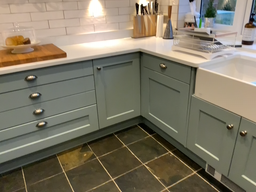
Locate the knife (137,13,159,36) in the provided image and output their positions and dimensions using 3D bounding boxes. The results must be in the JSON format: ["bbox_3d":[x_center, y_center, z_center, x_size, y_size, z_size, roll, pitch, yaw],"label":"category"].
[{"bbox_3d":[0.240,-0.860,2.540,0.210,0.230,0.140,-16,29,-28],"label":"knife"}]
